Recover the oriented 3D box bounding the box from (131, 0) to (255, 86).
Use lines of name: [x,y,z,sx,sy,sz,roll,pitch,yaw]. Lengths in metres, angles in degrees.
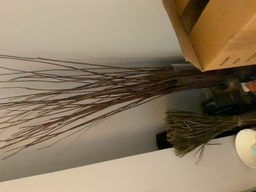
box: [0.360,-0.390,0.830,0.490,0.500,0.500,123,138,-63]
